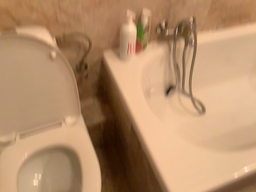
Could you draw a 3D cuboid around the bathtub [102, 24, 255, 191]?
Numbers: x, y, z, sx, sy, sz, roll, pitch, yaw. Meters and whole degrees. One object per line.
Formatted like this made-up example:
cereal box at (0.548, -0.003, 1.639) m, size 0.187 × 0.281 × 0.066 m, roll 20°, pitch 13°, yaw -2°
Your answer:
bathtub at (0.620, 0.060, 1.170) m, size 1.360 × 0.550 × 0.680 m, roll -14°, pitch 51°, yaw -16°
